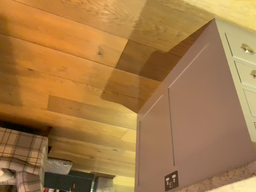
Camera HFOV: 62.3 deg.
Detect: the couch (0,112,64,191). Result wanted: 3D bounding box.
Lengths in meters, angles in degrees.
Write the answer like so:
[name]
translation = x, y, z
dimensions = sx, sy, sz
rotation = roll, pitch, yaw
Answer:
[couch]
translation = -1.270, 0.780, 2.380
dimensions = 0.880, 0.840, 0.840
rotation = 11, 144, -10
